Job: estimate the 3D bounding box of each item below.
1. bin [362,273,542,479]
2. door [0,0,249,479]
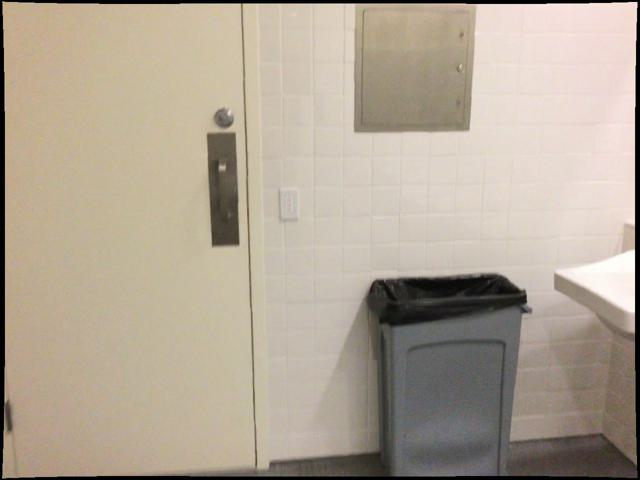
[{"bbox_3d":[0.479,0.551,2.210,0.579,0.772,0.290,-2,12,-7],"label":"bin"},{"bbox_3d":[-0.748,0.020,2.090,0.908,1.885,0.070,-2,12,-7],"label":"door"}]
